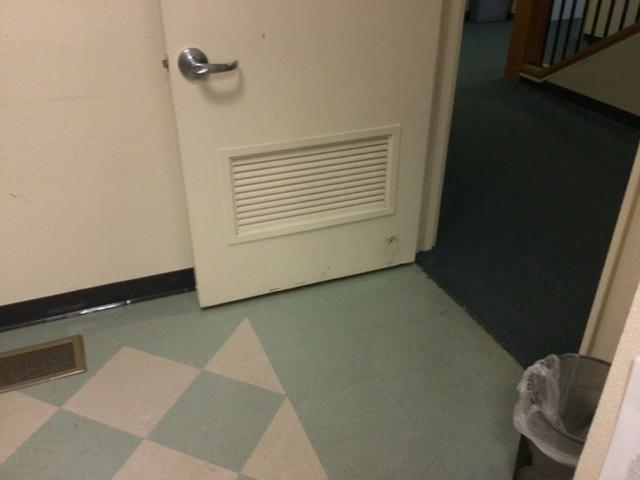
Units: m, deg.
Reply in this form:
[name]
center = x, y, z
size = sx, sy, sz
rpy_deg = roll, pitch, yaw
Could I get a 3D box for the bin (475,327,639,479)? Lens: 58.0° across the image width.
[bin]
center = 0.640, 0.490, 1.420
size = 0.350, 0.350, 0.310
rpy_deg = -15, 34, -20

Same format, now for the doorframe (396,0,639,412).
[doorframe]
center = 0.560, -0.710, 1.520
size = 0.140, 2.290, 0.990
rpy_deg = -15, 34, -20
